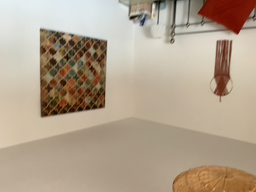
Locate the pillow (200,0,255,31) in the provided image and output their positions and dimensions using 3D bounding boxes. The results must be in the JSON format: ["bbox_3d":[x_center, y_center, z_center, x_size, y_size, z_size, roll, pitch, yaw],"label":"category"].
[{"bbox_3d":[1.070,-0.980,2.190,0.340,0.500,0.490,-6,-169,-43],"label":"pillow"}]
